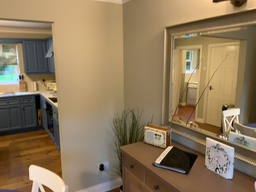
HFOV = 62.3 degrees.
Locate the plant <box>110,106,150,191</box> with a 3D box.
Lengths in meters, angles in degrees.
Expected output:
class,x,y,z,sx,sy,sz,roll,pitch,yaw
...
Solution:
class,x,y,z,sx,sy,sz,roll,pitch,yaw
plant,0.010,0.690,2.320,0.220,1.080,0.440,-7,12,-31
